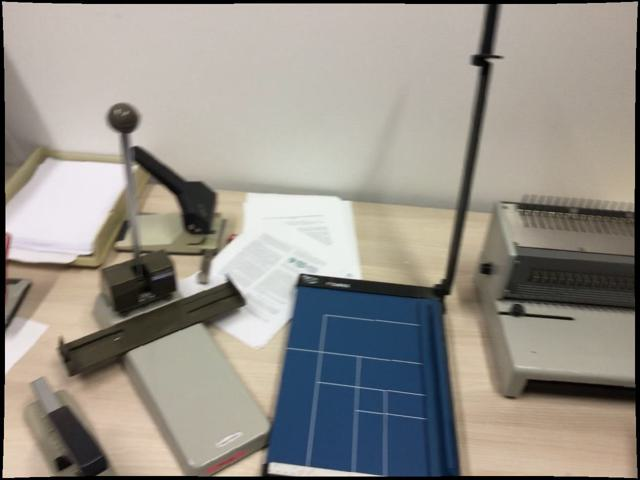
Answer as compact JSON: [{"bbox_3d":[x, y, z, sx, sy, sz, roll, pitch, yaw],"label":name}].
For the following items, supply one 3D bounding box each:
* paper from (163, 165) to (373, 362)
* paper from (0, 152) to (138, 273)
[{"bbox_3d":[-0.090,0.020,1.180,0.350,0.060,0.510,3,39,-3],"label":"paper"},{"bbox_3d":[-0.539,-0.070,1.210,0.230,0.040,0.350,3,39,-3],"label":"paper"}]
